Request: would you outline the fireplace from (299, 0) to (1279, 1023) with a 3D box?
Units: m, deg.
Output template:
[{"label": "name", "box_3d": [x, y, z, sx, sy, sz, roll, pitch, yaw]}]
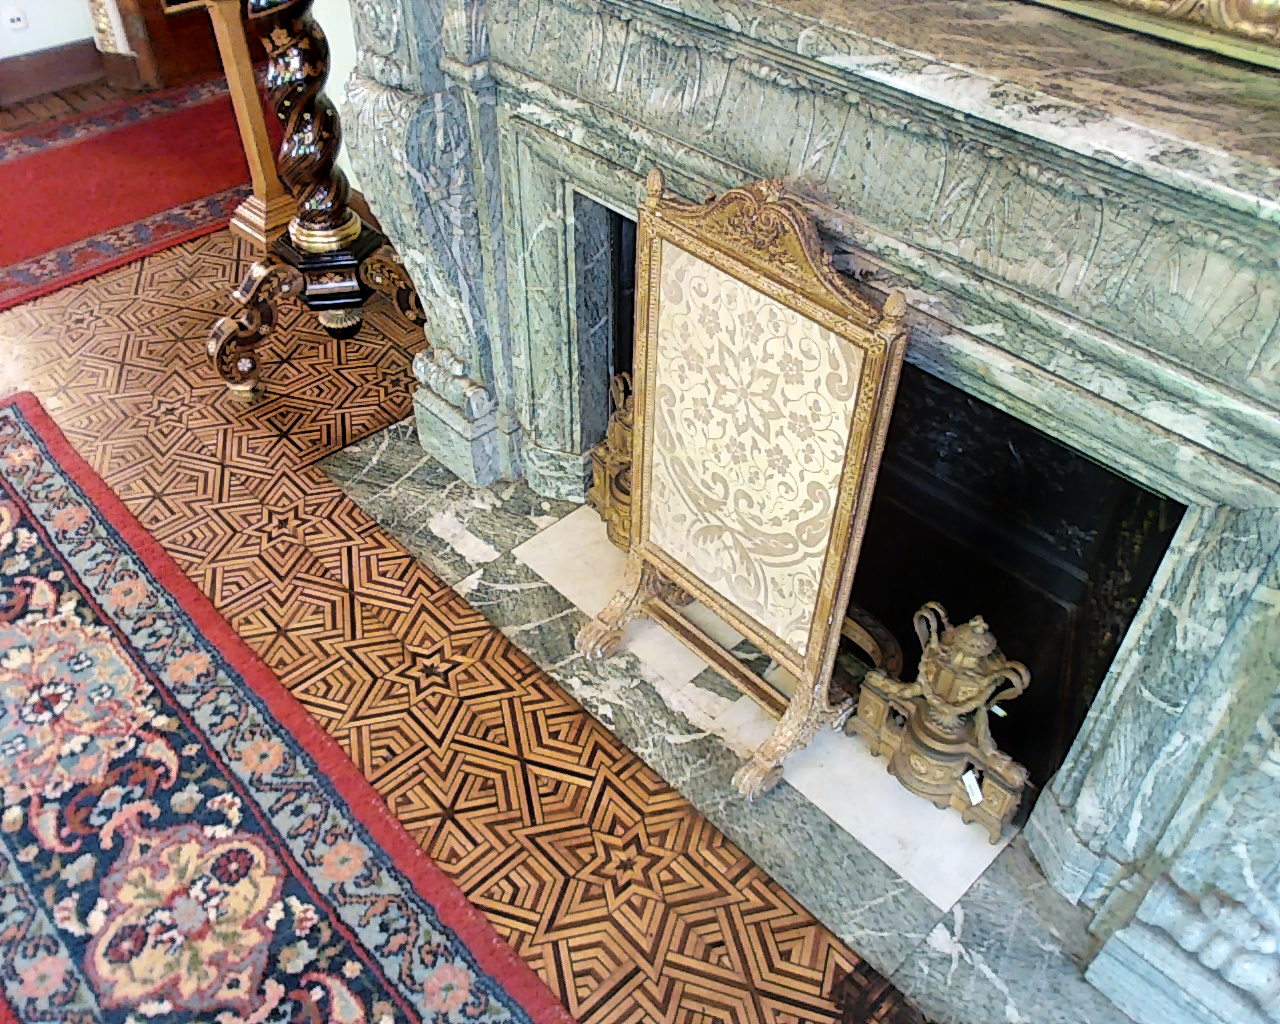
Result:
[{"label": "fireplace", "box_3d": [0.380, -0.170, 1.820, 0.590, 1.320, 2.360, -32, 51, -30]}]
